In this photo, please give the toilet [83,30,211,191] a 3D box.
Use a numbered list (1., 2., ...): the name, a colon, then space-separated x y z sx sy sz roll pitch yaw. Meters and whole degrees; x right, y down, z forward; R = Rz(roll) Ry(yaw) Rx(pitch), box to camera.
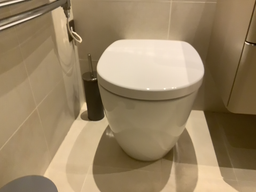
1. toilet: 0.080 0.020 0.930 0.350 0.460 0.540 4 32 6
